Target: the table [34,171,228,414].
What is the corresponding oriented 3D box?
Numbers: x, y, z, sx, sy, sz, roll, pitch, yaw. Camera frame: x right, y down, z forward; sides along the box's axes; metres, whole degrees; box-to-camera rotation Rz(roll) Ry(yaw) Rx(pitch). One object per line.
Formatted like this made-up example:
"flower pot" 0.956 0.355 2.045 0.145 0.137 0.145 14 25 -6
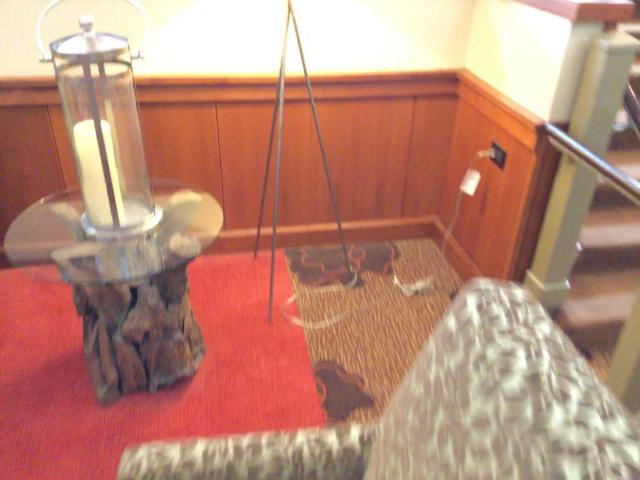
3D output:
"table" -0.630 0.180 1.930 0.500 0.620 0.460 6 27 -18
